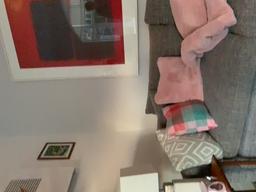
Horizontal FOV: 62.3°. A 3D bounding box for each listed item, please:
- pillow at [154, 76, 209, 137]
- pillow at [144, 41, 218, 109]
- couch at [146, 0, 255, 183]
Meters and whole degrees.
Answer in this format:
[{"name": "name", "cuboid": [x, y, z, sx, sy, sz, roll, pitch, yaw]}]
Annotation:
[{"name": "pillow", "cuboid": [0.460, 0.080, 1.840, 0.150, 0.420, 0.380, -54, 14, 39]}, {"name": "pillow", "cuboid": [0.450, -0.190, 1.900, 0.220, 0.460, 0.410, -89, 25, -67]}, {"name": "couch", "cuboid": [0.600, -0.610, 1.690, 1.050, 0.810, 2.340, -94, 1, -66]}]
